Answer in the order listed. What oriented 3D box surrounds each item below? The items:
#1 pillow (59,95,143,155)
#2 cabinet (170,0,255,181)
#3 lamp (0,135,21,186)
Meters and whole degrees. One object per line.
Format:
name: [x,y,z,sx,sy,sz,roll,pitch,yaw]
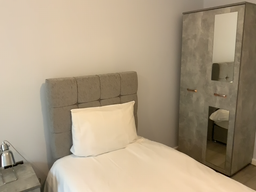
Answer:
pillow: [-0.230,0.300,2.040,0.720,0.470,0.200,14,-1,-40]
cabinet: [1.050,-0.080,2.640,0.550,1.880,0.840,-10,15,-34]
lamp: [-0.960,0.490,1.650,0.160,0.280,0.240,-10,15,-34]
